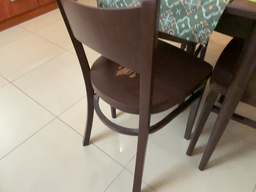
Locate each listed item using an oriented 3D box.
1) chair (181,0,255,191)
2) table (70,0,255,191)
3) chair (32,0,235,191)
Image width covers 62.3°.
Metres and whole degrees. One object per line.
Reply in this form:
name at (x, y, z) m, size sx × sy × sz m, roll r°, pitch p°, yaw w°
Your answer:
chair at (0.570, -0.020, 0.810) m, size 0.470 × 0.760 × 0.440 m, roll 23°, pitch 49°, yaw 22°
table at (0.390, -0.300, 1.100) m, size 0.700 × 0.760 × 1.060 m, roll 28°, pitch 51°, yaw 26°
chair at (0.020, -0.040, 0.820) m, size 0.420 × 0.780 × 0.390 m, roll -35°, pitch 54°, yaw -30°
